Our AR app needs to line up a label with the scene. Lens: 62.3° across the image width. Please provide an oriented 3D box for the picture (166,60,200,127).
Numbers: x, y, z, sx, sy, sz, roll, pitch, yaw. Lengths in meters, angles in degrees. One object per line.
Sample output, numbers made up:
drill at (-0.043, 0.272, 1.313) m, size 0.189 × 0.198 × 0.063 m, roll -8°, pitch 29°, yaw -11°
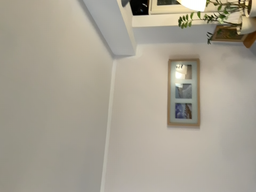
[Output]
picture at (0.580, -0.040, 2.240) m, size 0.040 × 0.330 × 0.700 m, roll 51°, pitch -138°, yaw -74°
